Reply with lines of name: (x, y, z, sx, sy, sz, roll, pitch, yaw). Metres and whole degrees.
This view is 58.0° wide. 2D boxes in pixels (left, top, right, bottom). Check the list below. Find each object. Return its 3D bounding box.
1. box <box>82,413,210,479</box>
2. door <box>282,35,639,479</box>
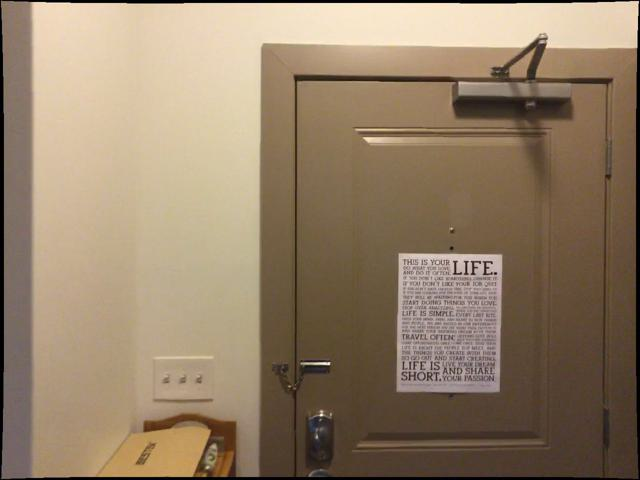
box: (-0.409, 0.541, 1.420, 0.229, 0.110, 0.340, -1, 2, -4)
door: (0.429, 0.481, 1.620, 1.038, 2.035, 0.130, -1, 2, -4)
